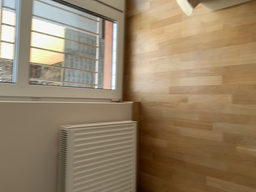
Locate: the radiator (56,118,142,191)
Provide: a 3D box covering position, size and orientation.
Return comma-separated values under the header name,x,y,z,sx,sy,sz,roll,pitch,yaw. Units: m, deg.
name,x,y,z,sx,sy,sz,roll,pitch,yaw
radiator,-0.170,0.520,1.510,0.110,0.670,0.680,1,89,44
